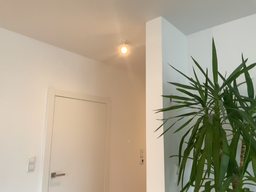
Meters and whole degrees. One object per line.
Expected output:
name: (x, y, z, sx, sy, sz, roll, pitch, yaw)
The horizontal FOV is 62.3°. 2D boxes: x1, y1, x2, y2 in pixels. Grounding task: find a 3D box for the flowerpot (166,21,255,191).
flowerpot: (0.820, 0.500, 1.510, 0.820, 1.790, 0.670, -8, -13, 42)
